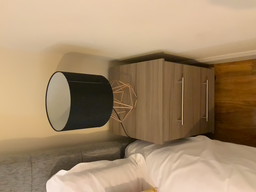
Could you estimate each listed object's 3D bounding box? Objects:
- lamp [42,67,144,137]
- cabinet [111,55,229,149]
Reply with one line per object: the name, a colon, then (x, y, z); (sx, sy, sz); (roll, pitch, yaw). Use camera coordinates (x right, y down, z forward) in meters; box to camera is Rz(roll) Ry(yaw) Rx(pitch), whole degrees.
lamp: (-0.160, 0.020, 1.010); (0.250, 0.400, 0.260); (3, 92, 49)
cabinet: (0.250, 0.030, 1.250); (0.450, 0.530, 0.400); (-1, 89, 49)
